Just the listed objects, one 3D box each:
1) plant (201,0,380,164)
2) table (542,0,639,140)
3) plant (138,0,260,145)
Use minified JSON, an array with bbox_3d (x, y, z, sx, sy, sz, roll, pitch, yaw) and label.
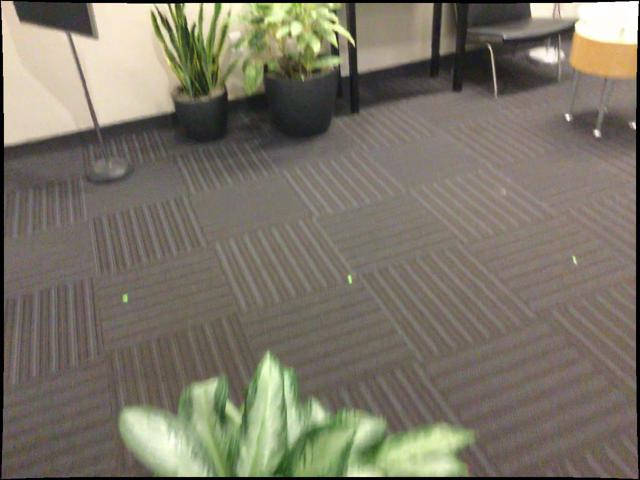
[{"bbox_3d":[-0.180,-1.042,3.210,0.679,0.781,0.810,-20,40,-11],"label":"plant"},{"bbox_3d":[1.496,-0.922,2.870,0.489,0.571,0.480,-20,40,-11],"label":"table"},{"bbox_3d":[-0.678,-0.992,3.290,0.439,0.691,0.400,-20,40,-11],"label":"plant"}]
